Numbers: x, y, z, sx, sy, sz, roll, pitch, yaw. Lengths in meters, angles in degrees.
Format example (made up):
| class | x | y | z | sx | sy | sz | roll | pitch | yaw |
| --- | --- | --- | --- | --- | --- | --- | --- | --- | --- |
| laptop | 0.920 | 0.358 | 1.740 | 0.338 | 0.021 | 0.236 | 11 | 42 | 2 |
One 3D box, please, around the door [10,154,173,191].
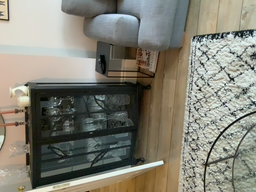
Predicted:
| class | x | y | z | sx | sy | sz | roll | pitch | yaw |
| --- | --- | --- | --- | --- | --- | --- | --- | --- | --- |
| door | -0.670 | 0.870 | 1.940 | 0.880 | 2.160 | 0.050 | -48 | 52 | 49 |
